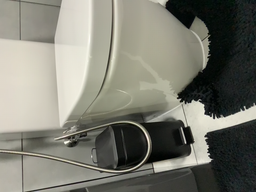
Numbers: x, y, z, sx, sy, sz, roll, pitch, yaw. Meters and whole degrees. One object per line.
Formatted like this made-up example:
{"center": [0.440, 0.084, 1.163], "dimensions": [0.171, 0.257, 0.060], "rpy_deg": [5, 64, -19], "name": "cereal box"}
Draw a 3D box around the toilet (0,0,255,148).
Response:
{"center": [-0.210, -0.110, 0.670], "dimensions": [0.660, 0.820, 0.400], "rpy_deg": [139, 126, -58], "name": "toilet"}
